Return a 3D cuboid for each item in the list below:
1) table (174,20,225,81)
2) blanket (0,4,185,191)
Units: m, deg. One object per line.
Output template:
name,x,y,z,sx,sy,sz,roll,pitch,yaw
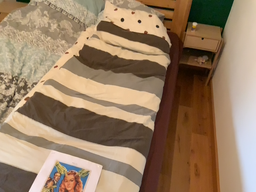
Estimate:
table,0.770,-0.490,2.350,0.370,0.580,0.190,13,40,9
blanket,-0.150,-0.030,1.330,0.780,0.400,2.000,13,41,9
